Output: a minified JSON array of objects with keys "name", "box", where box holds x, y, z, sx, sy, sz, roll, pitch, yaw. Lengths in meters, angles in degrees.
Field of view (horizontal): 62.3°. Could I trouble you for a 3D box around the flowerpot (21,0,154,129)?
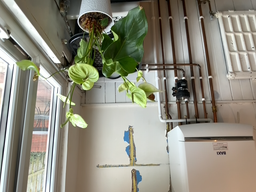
[{"name":"flowerpot","box":[-0.120,-0.200,0.870,0.390,0.610,0.350,-2,164,2]}]
